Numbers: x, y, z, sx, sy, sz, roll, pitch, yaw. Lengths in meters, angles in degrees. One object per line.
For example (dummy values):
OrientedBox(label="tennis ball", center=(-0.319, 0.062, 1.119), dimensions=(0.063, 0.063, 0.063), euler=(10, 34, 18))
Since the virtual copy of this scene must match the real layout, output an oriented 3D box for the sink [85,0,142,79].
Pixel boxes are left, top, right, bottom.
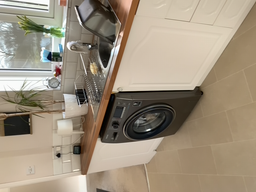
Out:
OrientedBox(label="sink", center=(-0.150, -0.490, 1.610), dimensions=(0.490, 0.190, 0.520), euler=(112, 146, -42))
